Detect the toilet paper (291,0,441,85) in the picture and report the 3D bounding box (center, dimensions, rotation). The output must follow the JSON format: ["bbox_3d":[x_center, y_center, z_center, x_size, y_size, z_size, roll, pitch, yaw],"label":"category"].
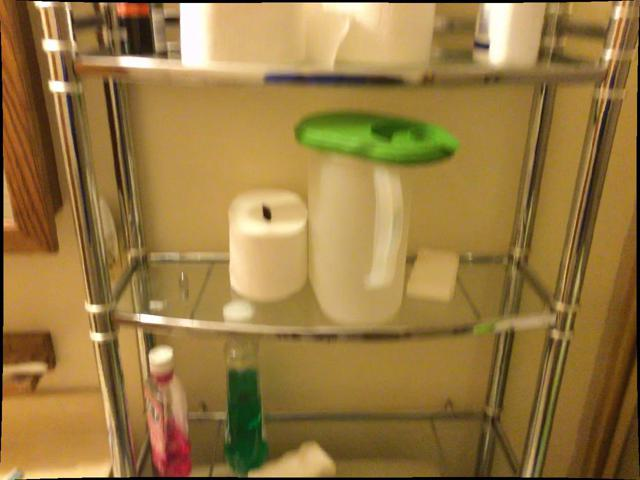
[{"bbox_3d":[0.050,-0.270,0.730,0.170,0.120,0.150,-2,22,-2],"label":"toilet paper"}]

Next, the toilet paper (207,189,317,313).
[{"bbox_3d":[-0.080,0.010,0.850,0.140,0.120,0.170,-2,22,-2],"label":"toilet paper"}]

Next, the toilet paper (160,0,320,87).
[{"bbox_3d":[-0.090,-0.260,0.700,0.170,0.120,0.150,-2,22,-2],"label":"toilet paper"}]
